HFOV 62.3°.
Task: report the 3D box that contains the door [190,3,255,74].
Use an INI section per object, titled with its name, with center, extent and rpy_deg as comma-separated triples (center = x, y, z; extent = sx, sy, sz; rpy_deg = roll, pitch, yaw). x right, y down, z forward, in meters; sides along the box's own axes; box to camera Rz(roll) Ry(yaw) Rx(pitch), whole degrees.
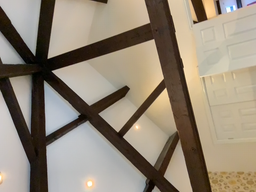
[door]
center = 1.810, -0.850, 2.650
extent = 0.040, 1.950, 0.780
rpy_deg = 15, -112, -60
